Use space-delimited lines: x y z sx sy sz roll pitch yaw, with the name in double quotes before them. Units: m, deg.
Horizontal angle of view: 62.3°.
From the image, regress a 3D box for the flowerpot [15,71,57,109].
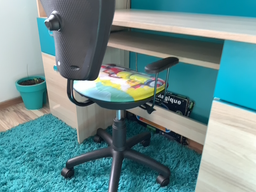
"flowerpot" -0.770 -0.060 1.790 0.260 0.210 0.200 22 32 35
